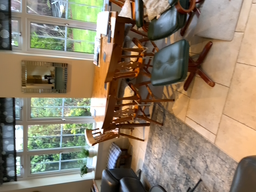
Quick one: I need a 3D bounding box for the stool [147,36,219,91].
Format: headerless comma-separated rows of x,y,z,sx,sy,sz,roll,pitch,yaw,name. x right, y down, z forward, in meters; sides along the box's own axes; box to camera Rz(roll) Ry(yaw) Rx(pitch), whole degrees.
0.520,-0.280,2.110,0.550,0.450,0.430,179,92,-67,stool
